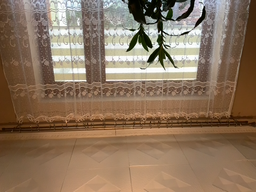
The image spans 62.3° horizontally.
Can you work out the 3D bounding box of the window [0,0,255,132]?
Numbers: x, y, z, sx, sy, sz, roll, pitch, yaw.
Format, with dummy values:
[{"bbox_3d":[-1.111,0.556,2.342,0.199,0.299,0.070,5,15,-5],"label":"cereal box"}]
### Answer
[{"bbox_3d":[0.000,-0.480,1.940,2.200,1.670,0.210,0,-161,-2],"label":"window"}]
